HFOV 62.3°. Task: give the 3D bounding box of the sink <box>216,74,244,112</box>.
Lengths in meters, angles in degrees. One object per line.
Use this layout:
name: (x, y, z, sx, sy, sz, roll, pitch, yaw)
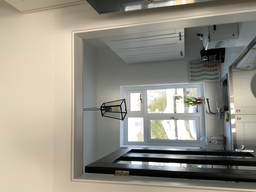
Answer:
sink: (1.320, -0.020, 2.780, 0.540, 0.200, 0.440, 21, -112, -75)
